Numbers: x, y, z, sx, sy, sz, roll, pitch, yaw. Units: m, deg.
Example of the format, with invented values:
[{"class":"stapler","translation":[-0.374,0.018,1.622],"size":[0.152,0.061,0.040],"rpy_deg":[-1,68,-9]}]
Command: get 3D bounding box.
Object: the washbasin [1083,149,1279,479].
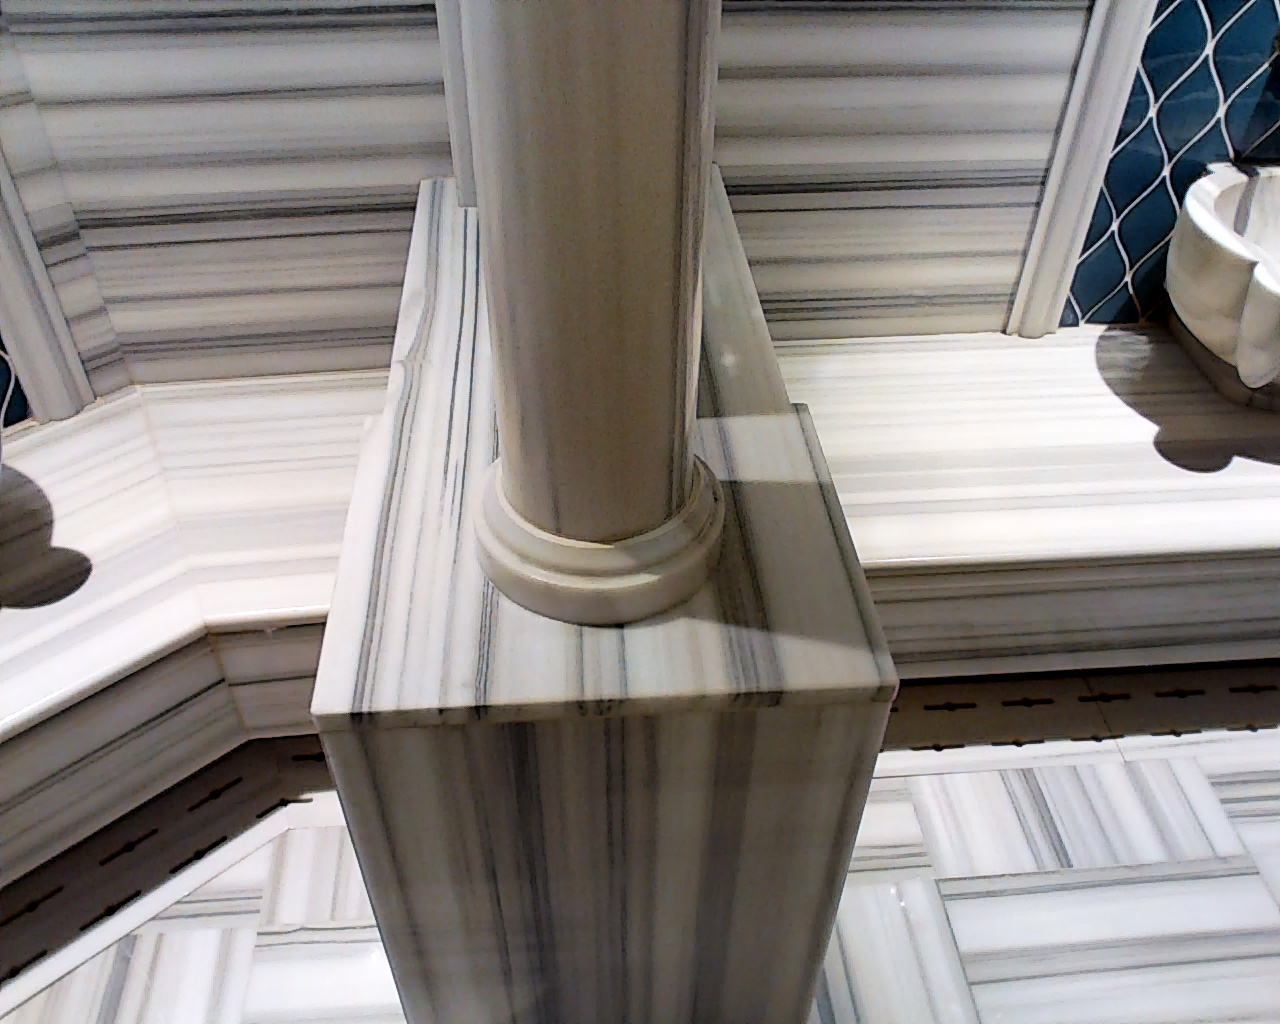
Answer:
[{"class":"washbasin","translation":[1.180,-0.360,1.880],"size":[0.550,0.360,0.470],"rpy_deg":[-3,43,-3]}]
